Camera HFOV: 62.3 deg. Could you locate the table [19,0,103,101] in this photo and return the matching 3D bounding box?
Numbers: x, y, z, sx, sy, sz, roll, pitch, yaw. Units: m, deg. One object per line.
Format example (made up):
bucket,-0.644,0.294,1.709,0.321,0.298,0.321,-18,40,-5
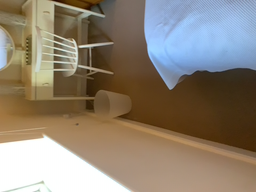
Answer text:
table,-0.740,-0.470,2.390,0.420,0.790,1.000,5,95,49
